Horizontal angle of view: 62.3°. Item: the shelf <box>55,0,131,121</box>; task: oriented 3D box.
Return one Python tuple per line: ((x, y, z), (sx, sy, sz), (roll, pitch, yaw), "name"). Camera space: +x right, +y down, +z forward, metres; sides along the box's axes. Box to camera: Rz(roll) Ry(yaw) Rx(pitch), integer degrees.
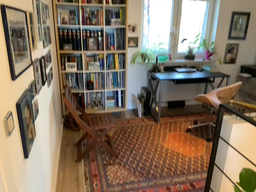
((-0.530, -0.690, 3.360), (1.050, 2.100, 0.400), (-3, 20, -13), "shelf")
